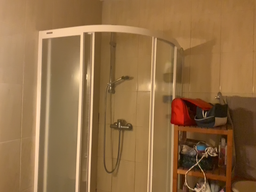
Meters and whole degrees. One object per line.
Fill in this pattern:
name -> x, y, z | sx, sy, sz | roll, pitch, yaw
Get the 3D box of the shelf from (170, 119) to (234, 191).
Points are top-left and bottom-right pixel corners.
shelf -> 0.560, 0.890, 1.640 | 0.390, 1.360, 0.490 | 2, 0, 22

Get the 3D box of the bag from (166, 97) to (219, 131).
bag -> 0.530, 0.120, 1.680 | 0.340, 0.210, 0.500 | 2, 0, 22
